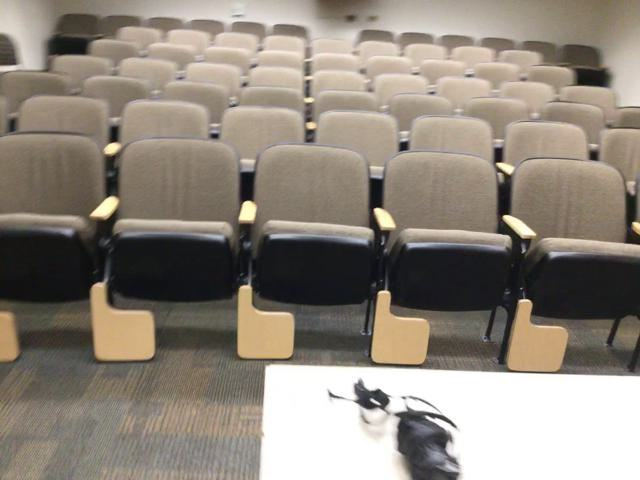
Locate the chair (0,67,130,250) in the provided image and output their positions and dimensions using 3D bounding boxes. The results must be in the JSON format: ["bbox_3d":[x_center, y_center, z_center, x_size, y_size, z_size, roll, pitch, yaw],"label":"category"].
[{"bbox_3d":[-1.350,-0.440,3.020,0.570,0.810,0.570,-1,23,-11],"label":"chair"}]

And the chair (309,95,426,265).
[{"bbox_3d":[0.220,-0.350,3.200,0.510,0.760,0.630,3,23,-3],"label":"chair"}]

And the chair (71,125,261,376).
[{"bbox_3d":[-0.550,0.010,2.320,0.560,0.780,0.660,3,23,-2],"label":"chair"}]

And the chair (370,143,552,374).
[{"bbox_3d":[0.520,0.050,2.400,0.540,0.750,0.570,5,23,2],"label":"chair"}]

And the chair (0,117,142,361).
[{"bbox_3d":[-1.060,-0.020,2.290,0.560,0.810,0.540,1,23,-8],"label":"chair"}]

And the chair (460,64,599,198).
[{"bbox_3d":[1.420,-0.770,4.050,0.660,0.810,0.600,5,14,2],"label":"chair"}]

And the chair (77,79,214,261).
[{"bbox_3d":[-0.880,-0.390,3.100,0.570,0.810,0.630,1,23,-7],"label":"chair"}]

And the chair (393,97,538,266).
[{"bbox_3d":[0.760,-0.340,3.210,0.560,0.790,0.550,3,20,-2],"label":"chair"}]

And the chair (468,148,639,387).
[{"bbox_3d":[1.010,0.090,2.370,0.580,0.780,0.540,5,23,2],"label":"chair"}]

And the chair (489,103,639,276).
[{"bbox_3d":[1.360,-0.300,3.200,0.570,0.810,0.560,4,19,-1],"label":"chair"}]

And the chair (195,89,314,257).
[{"bbox_3d":[-0.360,-0.380,3.190,0.570,0.770,0.570,2,23,-6],"label":"chair"}]

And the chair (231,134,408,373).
[{"bbox_3d":[-0.020,0.030,2.360,0.590,0.770,0.590,4,23,-1],"label":"chair"}]
